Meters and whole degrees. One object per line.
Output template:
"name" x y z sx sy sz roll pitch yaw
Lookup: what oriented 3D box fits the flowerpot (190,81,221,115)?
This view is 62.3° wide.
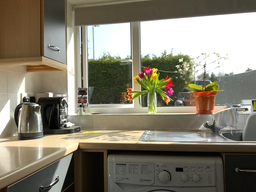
"flowerpot" 0.620 0.020 1.730 0.210 0.250 0.270 -2 -1 16

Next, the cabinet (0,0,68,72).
"cabinet" -0.670 -0.610 1.500 0.350 0.820 0.340 -2 -1 9

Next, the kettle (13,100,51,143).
"kettle" -0.620 0.160 1.380 0.160 0.260 0.150 -2 -1 15
